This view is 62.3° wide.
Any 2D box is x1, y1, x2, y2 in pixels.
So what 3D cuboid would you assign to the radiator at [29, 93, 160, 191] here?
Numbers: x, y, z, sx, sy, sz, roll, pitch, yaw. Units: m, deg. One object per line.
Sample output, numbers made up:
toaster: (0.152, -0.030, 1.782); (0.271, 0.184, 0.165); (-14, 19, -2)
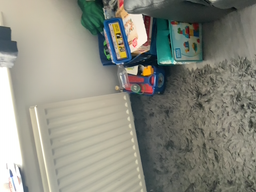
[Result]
radiator: (-0.130, 0.410, 1.340); (0.090, 0.820, 0.790); (-12, 88, 42)
